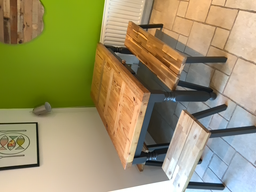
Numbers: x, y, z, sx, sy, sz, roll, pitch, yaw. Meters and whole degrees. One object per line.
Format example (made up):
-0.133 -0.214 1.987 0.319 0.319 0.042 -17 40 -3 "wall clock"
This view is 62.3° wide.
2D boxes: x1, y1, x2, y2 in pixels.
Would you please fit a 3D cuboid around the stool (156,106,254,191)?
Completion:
0.590 0.440 1.740 0.360 0.450 0.610 -127 43 -53 "stool"
